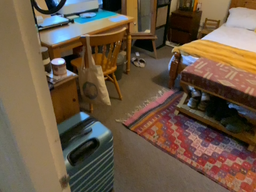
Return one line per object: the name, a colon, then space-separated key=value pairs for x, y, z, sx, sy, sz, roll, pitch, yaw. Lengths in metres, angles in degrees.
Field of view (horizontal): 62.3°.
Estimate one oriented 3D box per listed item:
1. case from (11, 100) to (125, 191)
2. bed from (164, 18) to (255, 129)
case: x=-0.310 y=0.450 z=1.310 sx=0.360 sy=0.620 sz=0.470 roll=23 pitch=40 yaw=27
bed: x=1.670 y=-0.450 z=2.870 sx=1.450 sy=0.520 sz=2.040 roll=26 pitch=41 yaw=29
